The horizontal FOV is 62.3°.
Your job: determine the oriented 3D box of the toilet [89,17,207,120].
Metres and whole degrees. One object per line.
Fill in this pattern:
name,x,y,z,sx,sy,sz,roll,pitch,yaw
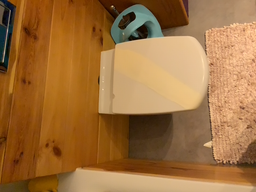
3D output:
toilet,0.140,-0.090,1.160,0.510,0.440,0.400,-2,79,24
